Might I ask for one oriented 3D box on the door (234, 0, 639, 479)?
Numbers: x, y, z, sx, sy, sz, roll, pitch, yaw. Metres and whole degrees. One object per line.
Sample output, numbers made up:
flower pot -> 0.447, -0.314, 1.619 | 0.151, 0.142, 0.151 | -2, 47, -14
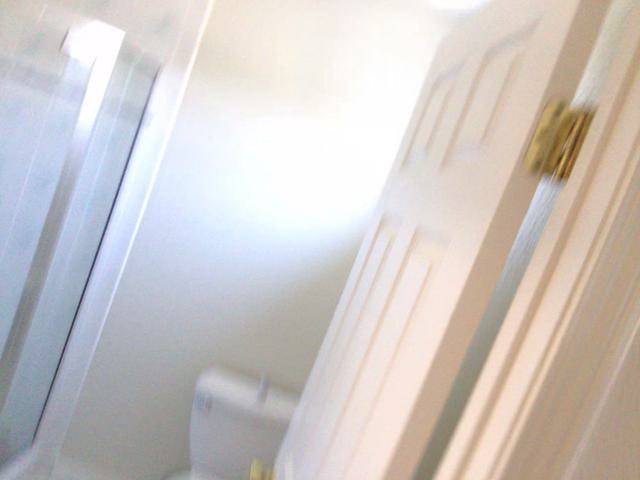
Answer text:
door -> -0.040, 0.490, 1.040 | 0.130, 2.010, 0.760 | 21, 3, -9

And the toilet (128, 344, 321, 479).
toilet -> -0.380, 0.910, 2.050 | 0.480, 0.810, 0.720 | 22, 3, 1
